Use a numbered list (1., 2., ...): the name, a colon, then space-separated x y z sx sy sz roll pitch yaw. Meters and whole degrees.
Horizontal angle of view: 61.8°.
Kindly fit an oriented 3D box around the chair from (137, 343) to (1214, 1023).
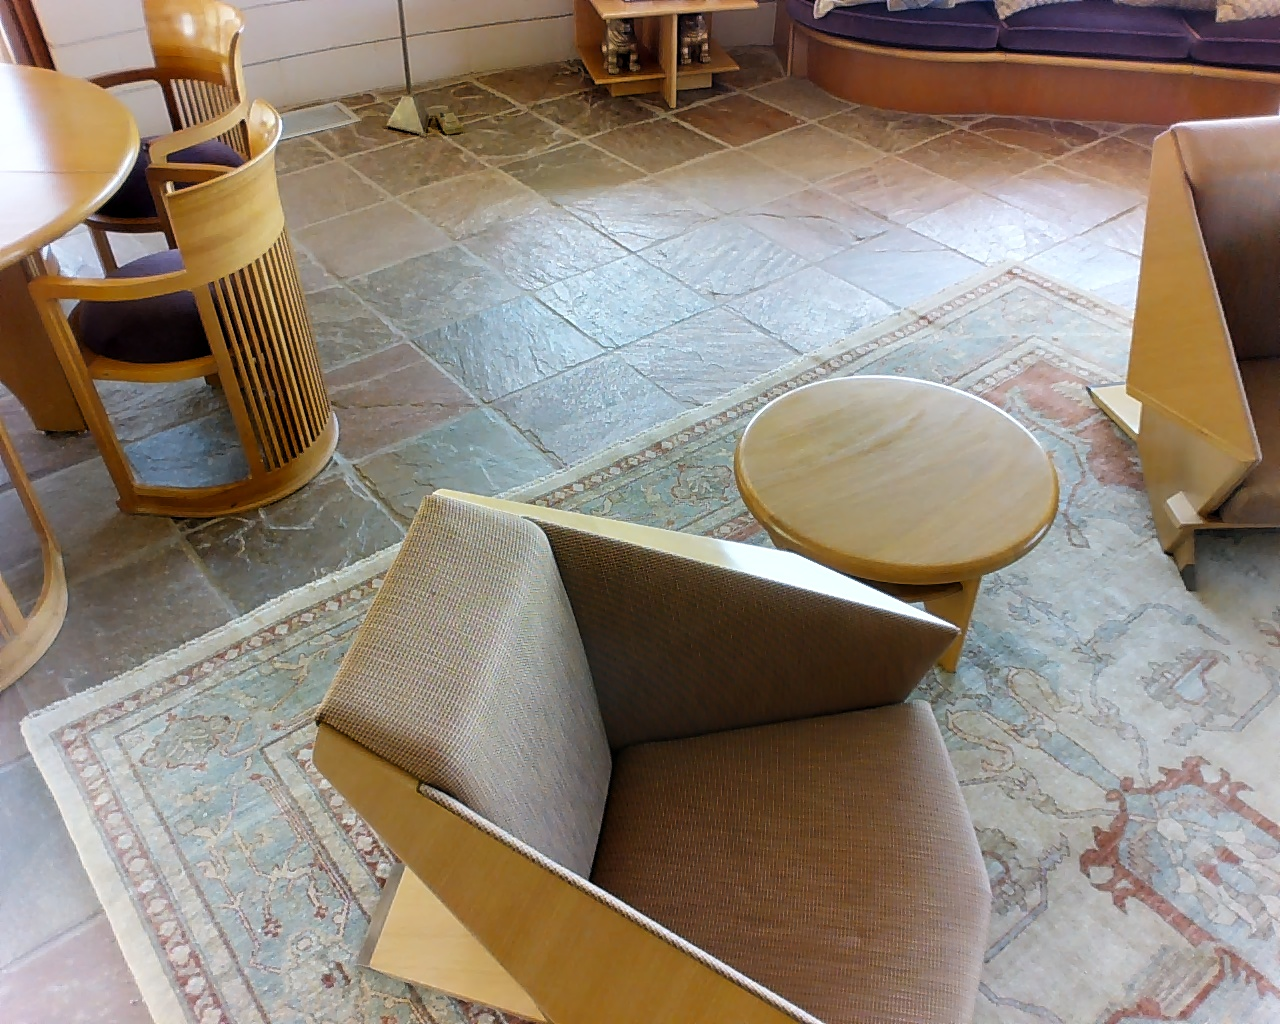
1. chair: 0.100 0.390 1.440 0.890 0.750 0.930 8 42 9

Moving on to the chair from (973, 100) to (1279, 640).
1. chair: 1.410 -0.340 2.270 0.990 0.760 0.810 -6 42 -6

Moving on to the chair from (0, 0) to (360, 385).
1. chair: -1.260 -0.920 2.930 0.600 0.780 0.640 -29 49 -29

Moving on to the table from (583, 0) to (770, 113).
1. table: 0.130 -1.971 4.390 0.620 0.400 0.570 -10 42 -11

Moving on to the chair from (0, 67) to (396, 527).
1. chair: -0.970 -0.480 2.410 0.590 0.800 0.620 2 41 2
